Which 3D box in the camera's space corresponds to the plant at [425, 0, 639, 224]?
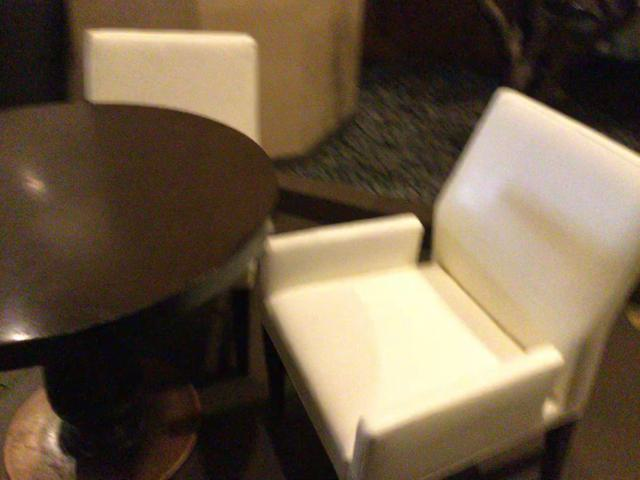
[{"bbox_3d":[0.850,-0.620,2.400,0.520,0.850,0.640,-10,29,-17],"label":"plant"}]
